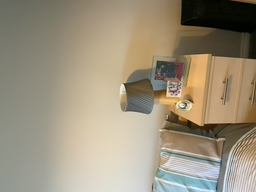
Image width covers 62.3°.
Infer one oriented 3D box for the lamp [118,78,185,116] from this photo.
[{"bbox_3d":[0.150,0.000,1.520,0.300,0.380,0.230,-152,64,-74],"label":"lamp"}]
